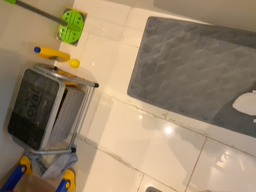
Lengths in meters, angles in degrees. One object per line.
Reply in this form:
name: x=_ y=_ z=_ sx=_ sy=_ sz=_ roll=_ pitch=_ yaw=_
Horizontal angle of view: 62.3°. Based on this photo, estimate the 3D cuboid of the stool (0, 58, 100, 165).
stool: x=-0.440 y=0.070 z=1.180 sx=0.360 sy=0.260 sz=0.430 roll=23 pitch=96 yaw=20
